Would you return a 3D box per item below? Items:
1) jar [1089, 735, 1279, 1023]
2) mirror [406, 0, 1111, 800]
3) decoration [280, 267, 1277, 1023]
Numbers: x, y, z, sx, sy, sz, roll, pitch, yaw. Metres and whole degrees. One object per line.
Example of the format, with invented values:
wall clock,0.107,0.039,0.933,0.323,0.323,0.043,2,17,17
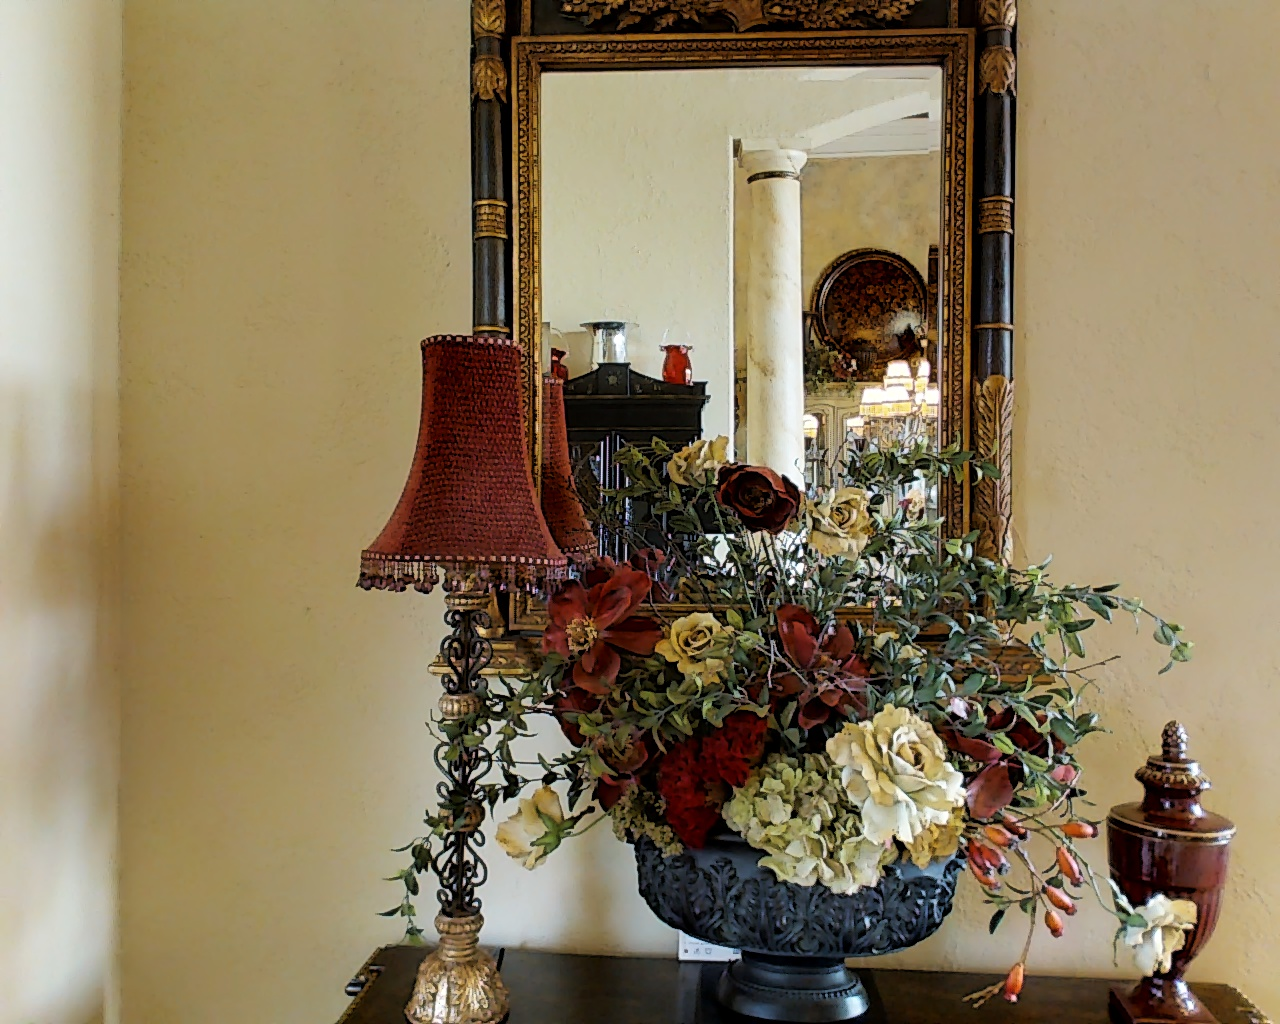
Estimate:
jar,0.700,0.480,1.380,0.180,0.350,0.170,0,-1,2
mirror,0.160,-0.310,1.540,0.960,1.390,0.120,0,-1,3
decoration,0.140,0.190,1.320,0.970,0.850,0.530,0,-1,3
